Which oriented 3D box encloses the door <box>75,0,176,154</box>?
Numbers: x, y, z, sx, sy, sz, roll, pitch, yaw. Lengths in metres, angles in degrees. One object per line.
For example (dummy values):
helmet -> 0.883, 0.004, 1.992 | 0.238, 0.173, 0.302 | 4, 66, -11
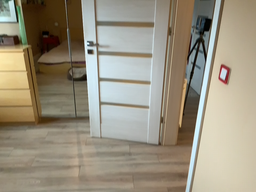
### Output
door -> -0.040, -0.380, 2.180 | 0.930, 2.150, 0.120 | 6, 24, 10
